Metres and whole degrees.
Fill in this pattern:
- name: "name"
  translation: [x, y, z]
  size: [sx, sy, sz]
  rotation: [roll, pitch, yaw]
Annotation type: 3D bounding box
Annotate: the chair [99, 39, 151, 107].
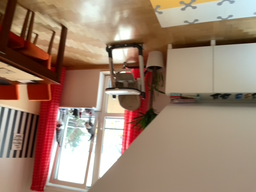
- name: "chair"
  translation: [-0.020, -0.330, 3.350]
  size: [0.610, 0.910, 0.550]
  rotation: [0, 167, 19]
